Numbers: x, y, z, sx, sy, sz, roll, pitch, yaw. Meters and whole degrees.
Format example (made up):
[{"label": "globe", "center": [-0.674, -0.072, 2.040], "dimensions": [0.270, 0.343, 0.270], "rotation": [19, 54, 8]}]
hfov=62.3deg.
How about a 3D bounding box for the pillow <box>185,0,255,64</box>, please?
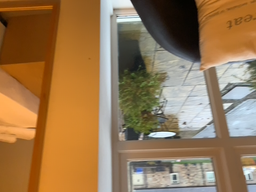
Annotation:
[{"label": "pillow", "center": [0.470, -0.330, 0.840], "dimensions": [0.420, 0.380, 0.140], "rotation": [9, -162, 21]}]
